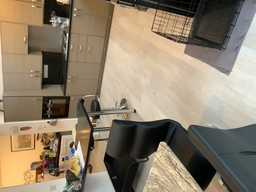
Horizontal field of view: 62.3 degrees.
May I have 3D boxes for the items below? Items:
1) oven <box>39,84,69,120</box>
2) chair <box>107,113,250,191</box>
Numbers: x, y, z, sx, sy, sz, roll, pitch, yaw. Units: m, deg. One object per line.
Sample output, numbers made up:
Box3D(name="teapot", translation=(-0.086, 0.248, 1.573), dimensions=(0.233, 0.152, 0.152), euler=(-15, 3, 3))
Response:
Box3D(name="oven", translation=(-1.790, 0.130, 5.090), dimensions=(0.590, 0.570, 0.640), euler=(50, 133, 51))
Box3D(name="chair", translation=(0.410, 0.480, 1.850), dimensions=(0.600, 0.990, 0.370), euler=(48, 132, 53))
